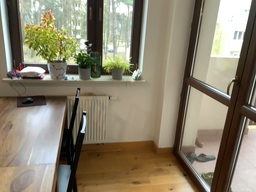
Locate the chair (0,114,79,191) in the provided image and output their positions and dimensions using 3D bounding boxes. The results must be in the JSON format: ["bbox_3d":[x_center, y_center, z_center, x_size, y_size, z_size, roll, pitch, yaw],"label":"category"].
[{"bbox_3d":[-0.610,0.590,1.490,0.510,0.850,0.360,1,19,-11],"label":"chair"}]
